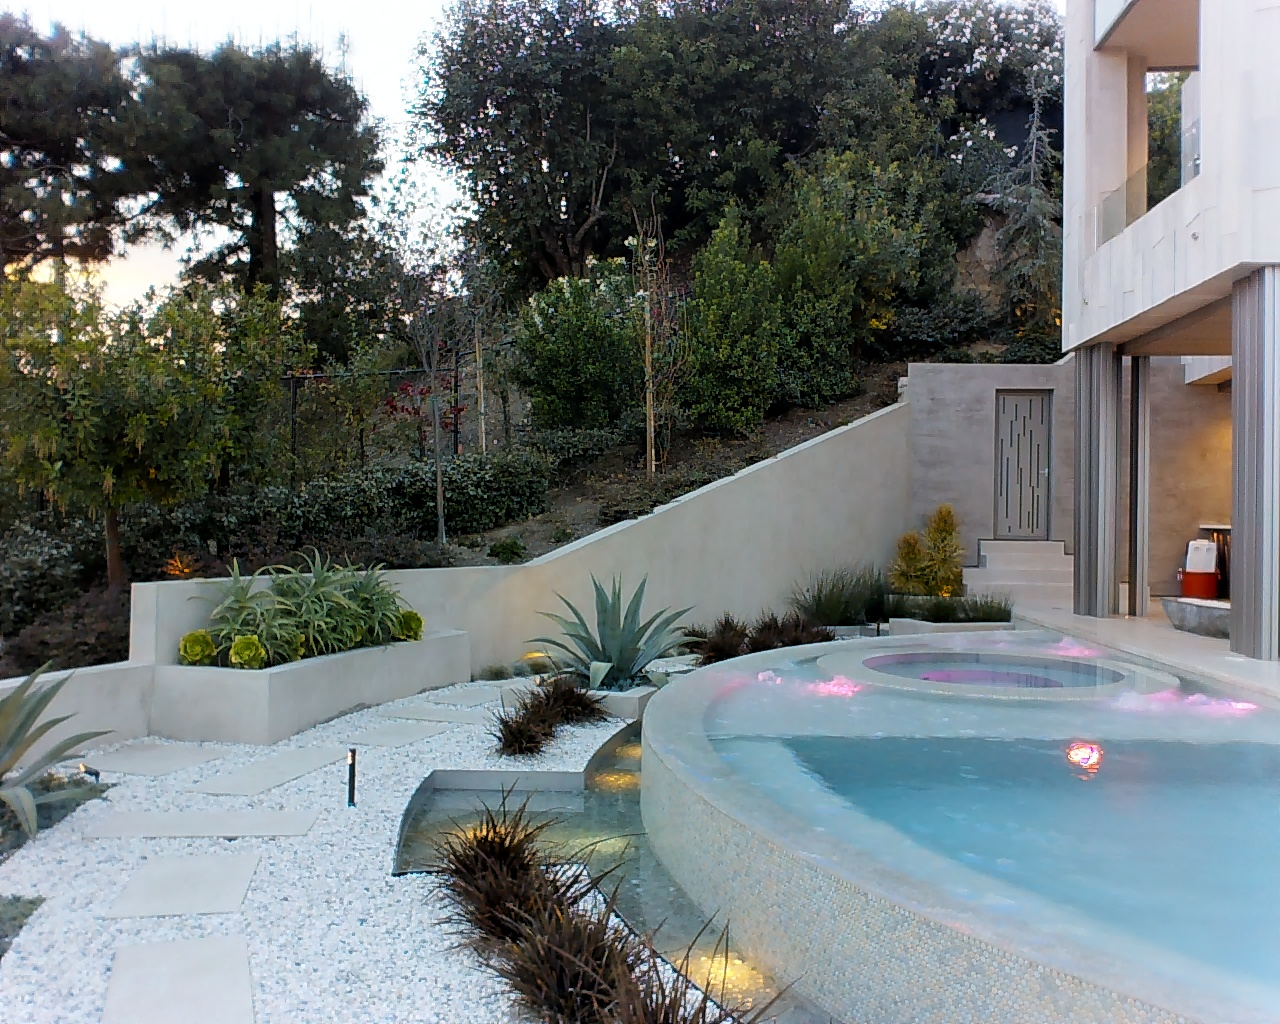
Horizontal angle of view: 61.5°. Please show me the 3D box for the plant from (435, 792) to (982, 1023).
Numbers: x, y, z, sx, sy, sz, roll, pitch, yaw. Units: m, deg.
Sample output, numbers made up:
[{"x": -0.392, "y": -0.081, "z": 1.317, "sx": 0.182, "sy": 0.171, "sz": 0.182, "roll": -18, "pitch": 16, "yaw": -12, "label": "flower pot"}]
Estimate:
[{"x": 0.030, "y": 1.410, "z": 3.170, "sx": 0.800, "sy": 0.530, "sz": 2.380, "roll": 1, "pitch": 0, "yaw": -22, "label": "plant"}]
